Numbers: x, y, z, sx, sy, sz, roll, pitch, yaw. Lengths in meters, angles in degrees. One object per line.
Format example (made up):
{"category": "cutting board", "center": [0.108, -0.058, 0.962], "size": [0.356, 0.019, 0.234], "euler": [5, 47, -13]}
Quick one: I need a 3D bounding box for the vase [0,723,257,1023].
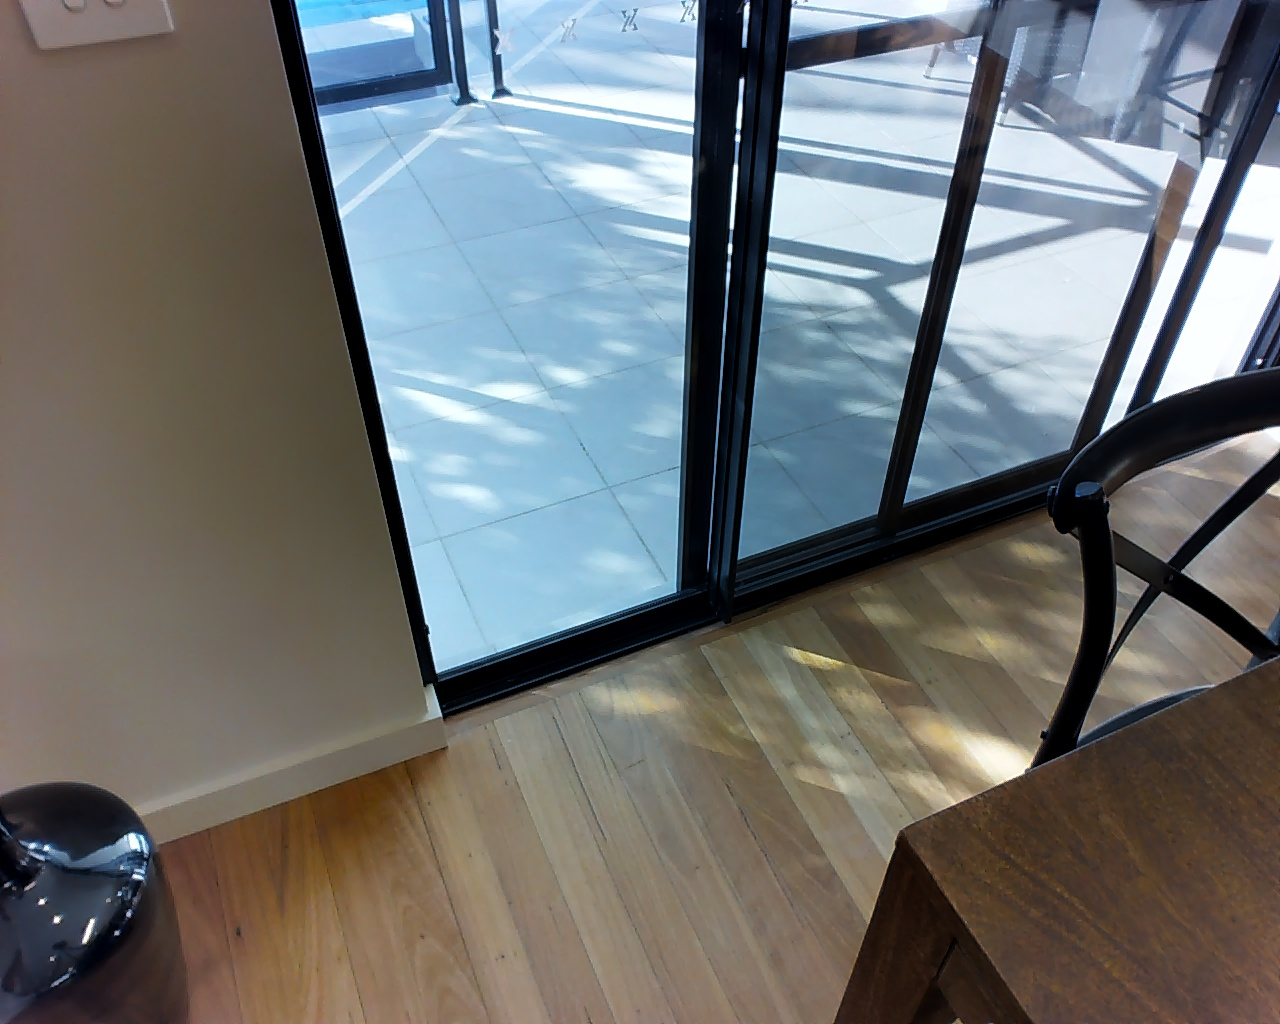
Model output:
{"category": "vase", "center": [-0.640, 0.550, 1.260], "size": [0.240, 0.540, 0.270], "euler": [-18, 47, -17]}
